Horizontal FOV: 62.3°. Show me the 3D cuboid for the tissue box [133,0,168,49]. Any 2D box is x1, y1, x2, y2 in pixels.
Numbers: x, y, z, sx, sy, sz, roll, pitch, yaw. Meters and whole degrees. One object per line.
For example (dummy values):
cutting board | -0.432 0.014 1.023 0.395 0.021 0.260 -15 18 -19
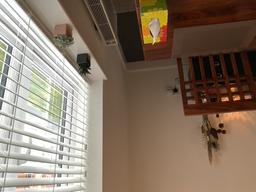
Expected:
tissue box | 0.110 -0.340 1.010 0.140 0.090 0.260 -5 159 6
